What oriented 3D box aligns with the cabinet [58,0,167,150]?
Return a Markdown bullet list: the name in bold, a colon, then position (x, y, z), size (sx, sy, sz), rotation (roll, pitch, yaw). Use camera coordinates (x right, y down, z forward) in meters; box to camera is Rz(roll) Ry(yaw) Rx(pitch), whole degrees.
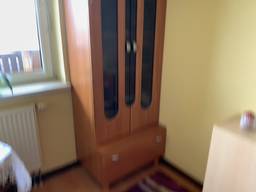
- **cabinet**: position (-0.120, -0.450, 1.860), size (0.750, 1.590, 0.490), rotation (-14, 24, -36)
